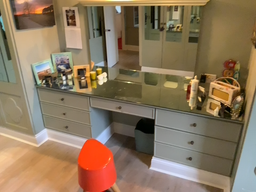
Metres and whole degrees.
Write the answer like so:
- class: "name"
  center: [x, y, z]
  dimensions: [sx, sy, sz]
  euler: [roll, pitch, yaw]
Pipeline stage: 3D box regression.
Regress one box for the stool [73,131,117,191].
- class: "stool"
  center: [-0.280, 0.630, 1.850]
  dimensions: [0.310, 0.430, 0.450]
  euler: [-5, 24, -9]
